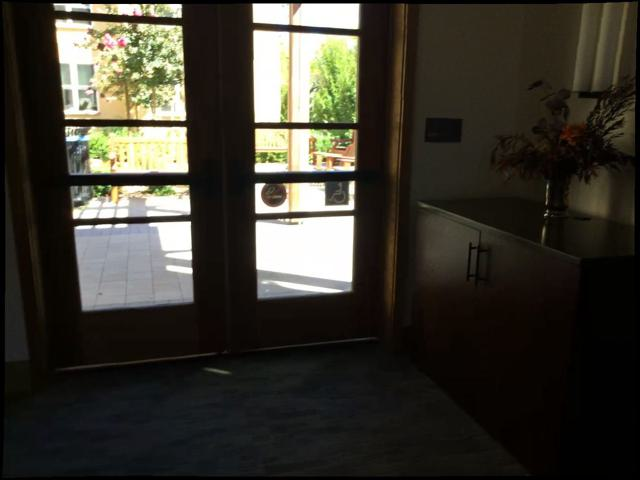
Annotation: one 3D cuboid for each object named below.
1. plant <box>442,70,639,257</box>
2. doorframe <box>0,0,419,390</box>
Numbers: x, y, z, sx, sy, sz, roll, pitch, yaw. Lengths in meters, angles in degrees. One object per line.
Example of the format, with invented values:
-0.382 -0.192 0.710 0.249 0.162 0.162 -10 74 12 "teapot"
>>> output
1.019 -0.370 2.430 0.689 0.651 0.740 -4 17 -14 "plant"
-0.519 -0.290 2.840 1.918 1.852 0.330 -4 17 -14 "doorframe"
